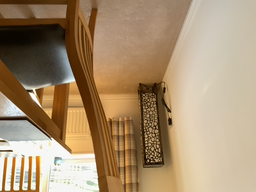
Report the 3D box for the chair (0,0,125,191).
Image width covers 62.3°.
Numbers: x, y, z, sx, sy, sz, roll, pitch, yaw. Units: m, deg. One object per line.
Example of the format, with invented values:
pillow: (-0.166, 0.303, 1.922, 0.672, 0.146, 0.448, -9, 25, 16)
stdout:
chair: (-0.310, -0.090, 0.930, 0.540, 1.040, 0.490, -3, 156, 0)
